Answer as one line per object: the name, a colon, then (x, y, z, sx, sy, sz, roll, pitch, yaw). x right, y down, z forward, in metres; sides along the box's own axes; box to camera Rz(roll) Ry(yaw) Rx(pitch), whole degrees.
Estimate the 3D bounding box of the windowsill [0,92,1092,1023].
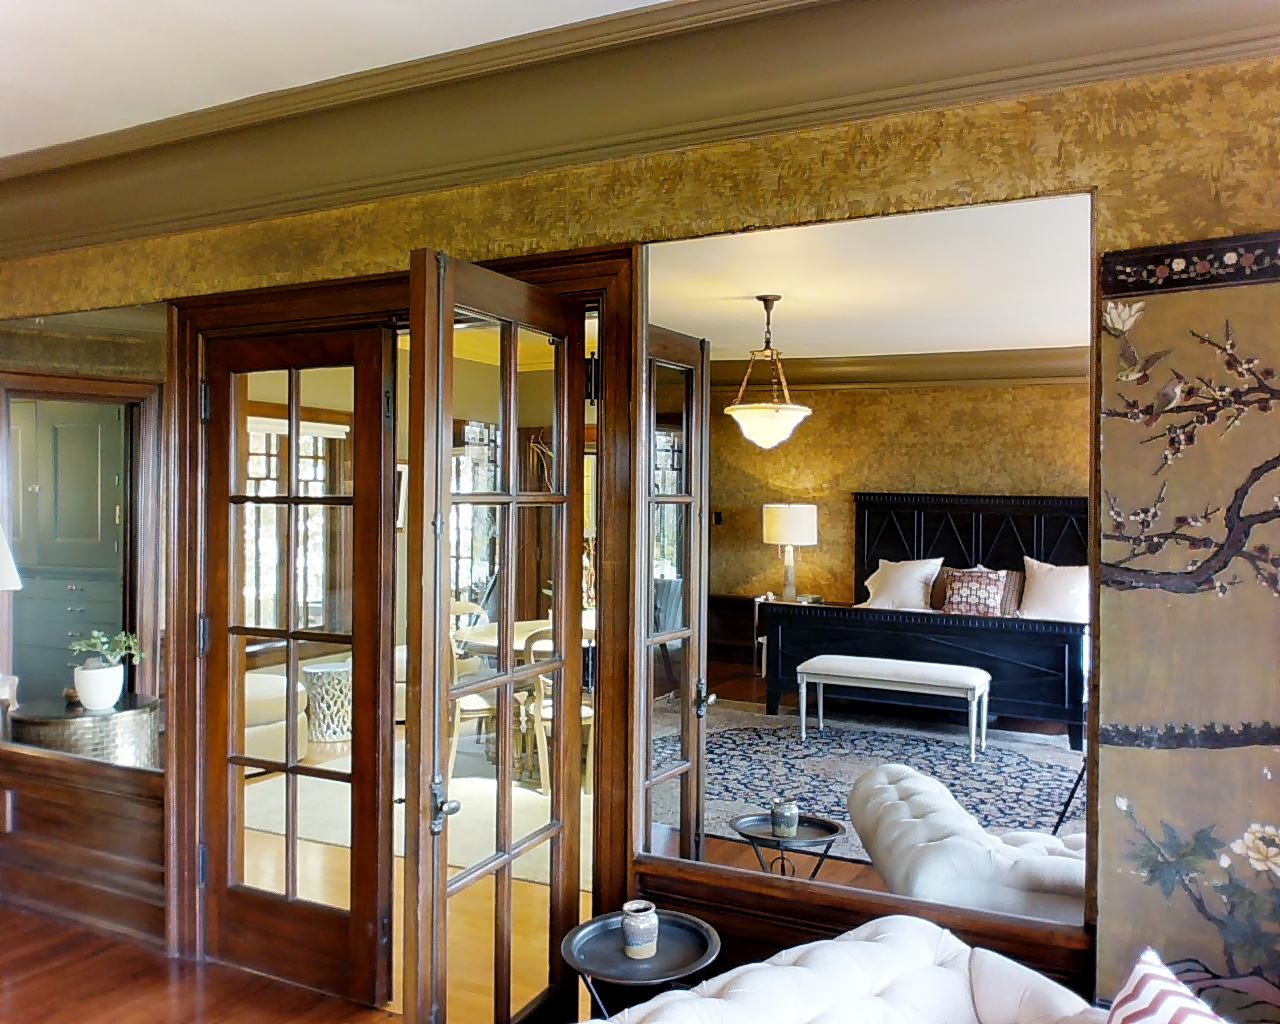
windowsill: (-0.440, 0.420, 2.860, 2.950, 2.260, 0.940, 1, 0, 26)
